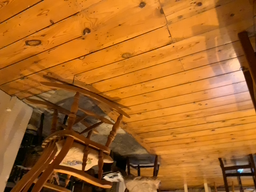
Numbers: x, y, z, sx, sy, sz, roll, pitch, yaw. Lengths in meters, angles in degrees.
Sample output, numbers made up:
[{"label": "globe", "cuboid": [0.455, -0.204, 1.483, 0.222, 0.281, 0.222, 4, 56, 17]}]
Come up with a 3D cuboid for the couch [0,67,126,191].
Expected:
[{"label": "couch", "cuboid": [-0.560, 0.510, 1.680, 0.800, 1.080, 0.640, 24, 141, -26]}]
